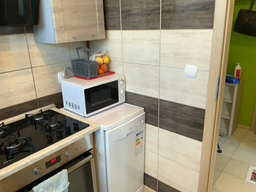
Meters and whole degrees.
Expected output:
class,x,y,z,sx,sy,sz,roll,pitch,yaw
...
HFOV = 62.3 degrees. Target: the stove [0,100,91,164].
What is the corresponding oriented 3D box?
class,x,y,z,sx,sy,sz,roll,pitch,yaw
stove,-0.660,0.190,1.430,0.540,0.050,0.600,15,24,38
